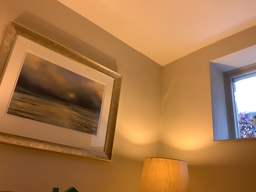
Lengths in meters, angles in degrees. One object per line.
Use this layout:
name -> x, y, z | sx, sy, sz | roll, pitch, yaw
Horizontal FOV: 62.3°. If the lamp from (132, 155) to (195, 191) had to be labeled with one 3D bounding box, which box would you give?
lamp -> 0.230, 0.680, 1.360 | 0.320, 0.540, 0.260 | 21, -27, -35
